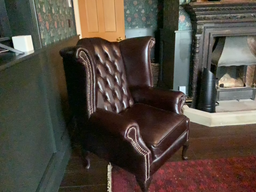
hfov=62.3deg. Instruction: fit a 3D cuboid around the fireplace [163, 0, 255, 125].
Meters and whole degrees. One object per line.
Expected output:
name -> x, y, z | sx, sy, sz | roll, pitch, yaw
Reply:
fireplace -> 1.410, -0.520, 2.730 | 1.630, 1.260, 1.190 | -4, 20, -3
